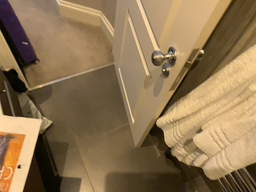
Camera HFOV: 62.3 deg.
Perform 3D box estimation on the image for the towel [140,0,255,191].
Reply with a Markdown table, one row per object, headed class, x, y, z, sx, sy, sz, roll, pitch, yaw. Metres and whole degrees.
| class | x | y | z | sx | sy | sz | roll | pitch | yaw |
| --- | --- | --- | --- | --- | --- | --- | --- | --- | --- |
| towel | 0.310 | 0.120 | 0.790 | 0.190 | 1.080 | 0.350 | -22 | 66 | -20 |
